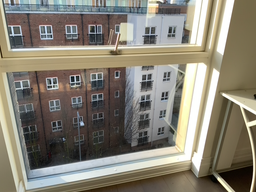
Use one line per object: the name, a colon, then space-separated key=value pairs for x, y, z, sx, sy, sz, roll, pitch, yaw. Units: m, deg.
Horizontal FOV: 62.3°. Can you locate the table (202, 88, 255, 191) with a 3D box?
table: x=1.170 y=0.360 z=1.540 sx=1.010 sy=0.750 sz=0.450 roll=-4 pitch=24 yaw=-15
